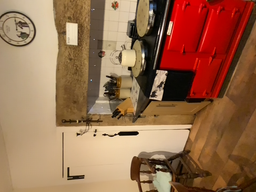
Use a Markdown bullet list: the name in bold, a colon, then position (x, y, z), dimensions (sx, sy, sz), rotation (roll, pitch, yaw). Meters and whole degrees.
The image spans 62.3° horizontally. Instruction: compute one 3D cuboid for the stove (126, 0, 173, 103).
- **stove**: position (0.170, -0.550, 2.150), dimensions (0.690, 0.100, 1.030), rotation (-113, 28, -57)
